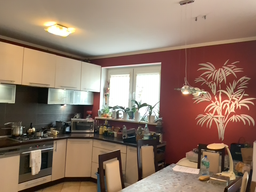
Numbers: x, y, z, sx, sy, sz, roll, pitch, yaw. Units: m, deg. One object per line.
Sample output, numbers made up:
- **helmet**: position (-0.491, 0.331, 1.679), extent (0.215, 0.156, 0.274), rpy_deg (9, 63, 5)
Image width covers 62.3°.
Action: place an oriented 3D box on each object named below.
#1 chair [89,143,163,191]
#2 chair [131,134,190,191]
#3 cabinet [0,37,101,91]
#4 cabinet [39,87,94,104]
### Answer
- **chair**: position (-0.040, 1.020, 1.950), extent (0.560, 1.040, 0.380), rpy_deg (1, -2, 43)
- **chair**: position (0.390, 1.060, 2.710), extent (0.470, 1.040, 0.590), rpy_deg (3, -2, -28)
- **cabinet**: position (-1.520, -0.490, 3.930), extent (0.550, 0.620, 2.370), rpy_deg (1, -2, 35)
- **cabinet**: position (-1.260, 0.000, 4.480), extent (0.360, 0.290, 1.120), rpy_deg (1, -2, 35)
